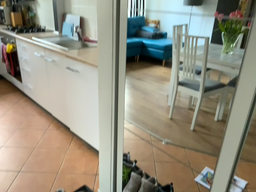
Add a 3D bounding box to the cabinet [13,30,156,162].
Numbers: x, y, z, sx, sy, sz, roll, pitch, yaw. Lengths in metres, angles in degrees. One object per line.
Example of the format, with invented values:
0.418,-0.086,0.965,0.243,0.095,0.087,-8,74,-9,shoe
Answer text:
-0.590,-0.180,2.350,0.580,0.840,1.730,-19,32,-41,cabinet
